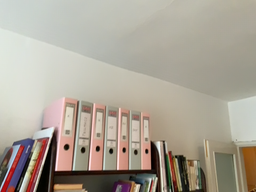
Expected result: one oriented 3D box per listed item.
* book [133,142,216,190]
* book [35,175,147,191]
[{"bbox_3d":[0.330,0.490,1.520,0.500,0.270,0.310,12,-20,-33],"label":"book"},{"bbox_3d":[-0.200,0.540,1.120,0.490,0.200,0.340,12,-20,-33],"label":"book"}]
